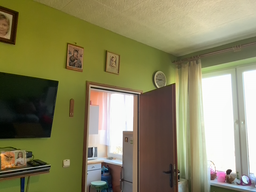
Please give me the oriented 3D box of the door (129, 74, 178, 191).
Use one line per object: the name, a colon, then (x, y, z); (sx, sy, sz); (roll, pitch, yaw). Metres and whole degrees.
door: (0.260, 0.960, 2.540); (0.080, 2.300, 0.930); (4, -8, -26)
